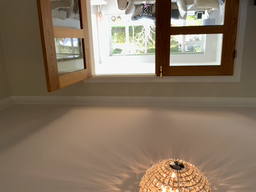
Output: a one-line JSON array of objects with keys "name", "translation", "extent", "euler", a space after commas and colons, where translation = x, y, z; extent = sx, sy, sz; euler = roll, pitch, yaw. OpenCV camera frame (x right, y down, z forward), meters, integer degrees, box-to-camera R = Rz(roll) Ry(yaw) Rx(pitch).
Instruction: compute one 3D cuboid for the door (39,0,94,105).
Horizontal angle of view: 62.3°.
[{"name": "door", "translation": [-0.580, -1.030, 2.040], "extent": [0.130, 2.080, 0.840], "euler": [1, -165, 10]}]
